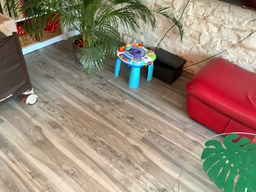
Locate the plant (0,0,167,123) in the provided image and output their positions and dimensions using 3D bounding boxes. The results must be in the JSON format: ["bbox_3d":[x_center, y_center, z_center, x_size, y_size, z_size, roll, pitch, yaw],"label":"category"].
[{"bbox_3d":[-0.550,-0.790,2.180,1.450,1.200,1.080,29,45,22],"label":"plant"}]

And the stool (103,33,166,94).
[{"bbox_3d":[0.060,-0.380,2.370,0.470,0.360,0.480,32,46,25],"label":"stool"}]

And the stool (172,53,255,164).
[{"bbox_3d":[0.980,0.070,1.900,0.860,0.400,0.670,32,46,25],"label":"stool"}]
